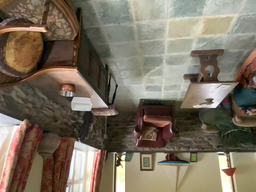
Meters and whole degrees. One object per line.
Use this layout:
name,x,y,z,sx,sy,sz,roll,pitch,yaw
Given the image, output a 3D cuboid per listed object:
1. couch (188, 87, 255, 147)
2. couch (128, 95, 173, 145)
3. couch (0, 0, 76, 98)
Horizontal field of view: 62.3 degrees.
couch,1.820,0.460,3.990,0.970,0.860,0.820,13,157,-33
couch,0.400,0.510,4.240,0.690,0.800,0.840,3,160,-7
couch,-0.770,-0.450,1.480,0.570,0.780,0.530,-2,161,7
